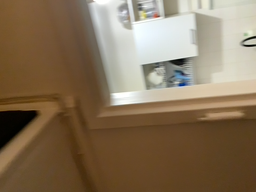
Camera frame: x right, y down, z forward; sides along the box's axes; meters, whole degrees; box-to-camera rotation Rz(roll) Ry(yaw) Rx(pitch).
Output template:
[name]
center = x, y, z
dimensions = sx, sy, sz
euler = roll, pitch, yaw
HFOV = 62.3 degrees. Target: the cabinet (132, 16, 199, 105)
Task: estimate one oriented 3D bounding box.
[cabinet]
center = 0.430, -0.370, 2.310
dimensions = 0.320, 0.580, 0.840
euler = -65, -33, -63
